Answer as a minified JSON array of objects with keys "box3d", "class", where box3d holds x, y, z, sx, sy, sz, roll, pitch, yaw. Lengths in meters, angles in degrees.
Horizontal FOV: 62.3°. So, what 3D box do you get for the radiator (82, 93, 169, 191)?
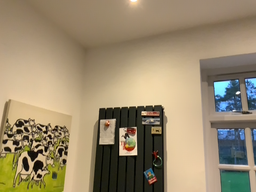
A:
[{"box3d":[-0.040,0.920,1.500,0.650,1.890,0.090,-4,-16,21],"class":"radiator"}]
